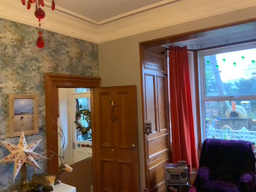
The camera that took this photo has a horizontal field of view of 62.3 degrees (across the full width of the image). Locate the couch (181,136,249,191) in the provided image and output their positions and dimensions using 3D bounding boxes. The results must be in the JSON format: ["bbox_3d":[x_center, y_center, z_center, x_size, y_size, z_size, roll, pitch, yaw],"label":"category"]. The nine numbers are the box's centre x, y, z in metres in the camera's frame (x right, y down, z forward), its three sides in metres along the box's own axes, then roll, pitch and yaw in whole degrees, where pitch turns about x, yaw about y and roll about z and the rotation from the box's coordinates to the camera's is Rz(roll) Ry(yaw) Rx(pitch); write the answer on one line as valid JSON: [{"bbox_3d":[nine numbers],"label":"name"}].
[{"bbox_3d":[1.440,1.250,3.430,0.850,0.990,0.920,-3,-1,31],"label":"couch"}]
